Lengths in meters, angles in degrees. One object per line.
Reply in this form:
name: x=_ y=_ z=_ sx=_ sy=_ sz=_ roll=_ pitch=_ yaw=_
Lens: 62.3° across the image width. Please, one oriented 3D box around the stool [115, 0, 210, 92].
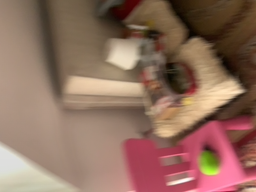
stool: x=0.220 y=-0.360 z=1.570 sx=0.360 sy=0.390 sz=0.530 roll=-54 pitch=45 yaw=39
